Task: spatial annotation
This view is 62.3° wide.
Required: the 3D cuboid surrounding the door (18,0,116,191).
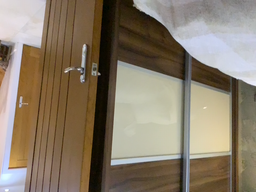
[{"bbox_3d":[-0.390,-0.150,1.200,0.070,1.930,0.980,8,171,-38],"label":"door"}]
